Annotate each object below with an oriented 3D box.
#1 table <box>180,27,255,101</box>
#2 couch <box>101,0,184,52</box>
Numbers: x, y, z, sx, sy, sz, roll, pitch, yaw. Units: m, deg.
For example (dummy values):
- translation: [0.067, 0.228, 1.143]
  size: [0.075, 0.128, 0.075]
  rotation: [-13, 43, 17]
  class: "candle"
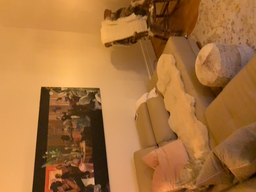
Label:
- translation: [0.860, -0.290, 2.040]
  size: [0.500, 0.410, 0.460]
  rotation: [111, 155, -50]
  class: "table"
- translation: [0.170, -1.170, 3.330]
  size: [0.830, 1.090, 0.660]
  rotation: [160, 110, -74]
  class: "couch"
